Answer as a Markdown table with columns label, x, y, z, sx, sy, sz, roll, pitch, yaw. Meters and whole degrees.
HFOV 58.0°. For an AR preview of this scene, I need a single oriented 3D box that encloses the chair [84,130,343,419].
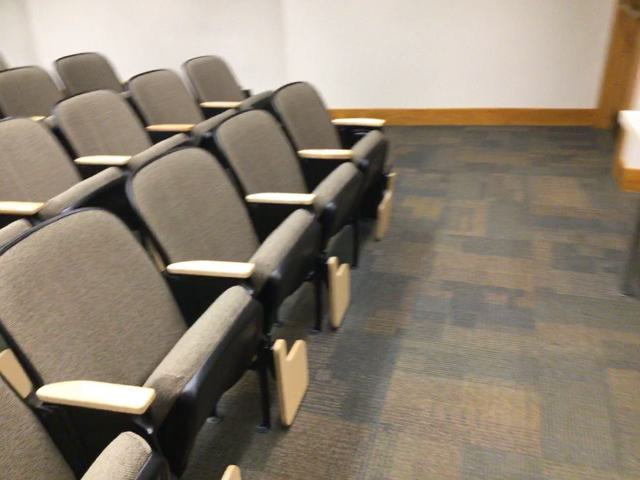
| label | x | y | z | sx | sy | sz | roll | pitch | yaw |
| --- | --- | --- | --- | --- | --- | --- | --- | --- | --- |
| chair | -0.300 | 0.080 | 1.980 | 0.570 | 0.750 | 0.540 | 7 | 29 | 21 |

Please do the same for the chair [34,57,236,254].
| label | x | y | z | sx | sy | sz | roll | pitch | yaw |
| --- | --- | --- | --- | --- | --- | --- | --- | --- | --- |
| chair | -0.880 | -0.430 | 2.920 | 0.560 | 0.810 | 0.570 | 2 | 28 | 20 |

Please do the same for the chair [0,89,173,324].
| label | x | y | z | sx | sy | sz | roll | pitch | yaw |
| --- | --- | --- | --- | --- | --- | --- | --- | --- | --- |
| chair | -1.090 | -0.160 | 2.430 | 0.550 | 0.790 | 0.560 | 3 | 28 | 19 |

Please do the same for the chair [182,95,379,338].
| label | x | y | z | sx | sy | sz | roll | pitch | yaw |
| --- | --- | --- | --- | --- | --- | --- | --- | --- | --- |
| chair | -0.110 | -0.130 | 2.380 | 0.540 | 0.780 | 0.580 | 7 | 29 | 21 |

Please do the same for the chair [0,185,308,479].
| label | x | y | z | sx | sy | sz | roll | pitch | yaw |
| --- | --- | --- | --- | --- | --- | --- | --- | --- | --- |
| chair | -0.440 | 0.340 | 1.530 | 0.590 | 0.770 | 0.590 | 6 | 29 | 19 |

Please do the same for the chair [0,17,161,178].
| label | x | y | z | sx | sy | sz | roll | pitch | yaw |
| --- | --- | --- | --- | --- | --- | --- | --- | --- | --- |
| chair | -1.510 | -0.900 | 3.660 | 0.530 | 0.830 | 0.590 | 0 | 27 | 24 |

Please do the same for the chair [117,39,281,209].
| label | x | y | z | sx | sy | sz | roll | pitch | yaw |
| --- | --- | --- | --- | --- | --- | --- | --- | --- | --- |
| chair | -0.660 | -0.670 | 3.340 | 0.550 | 0.810 | 0.560 | 3 | 28 | 23 |

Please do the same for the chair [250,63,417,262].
| label | x | y | z | sx | sy | sz | roll | pitch | yaw |
| --- | --- | --- | --- | --- | --- | --- | --- | --- | --- |
| chair | 0.110 | -0.400 | 2.800 | 0.570 | 0.760 | 0.610 | 5 | 28 | 21 |
